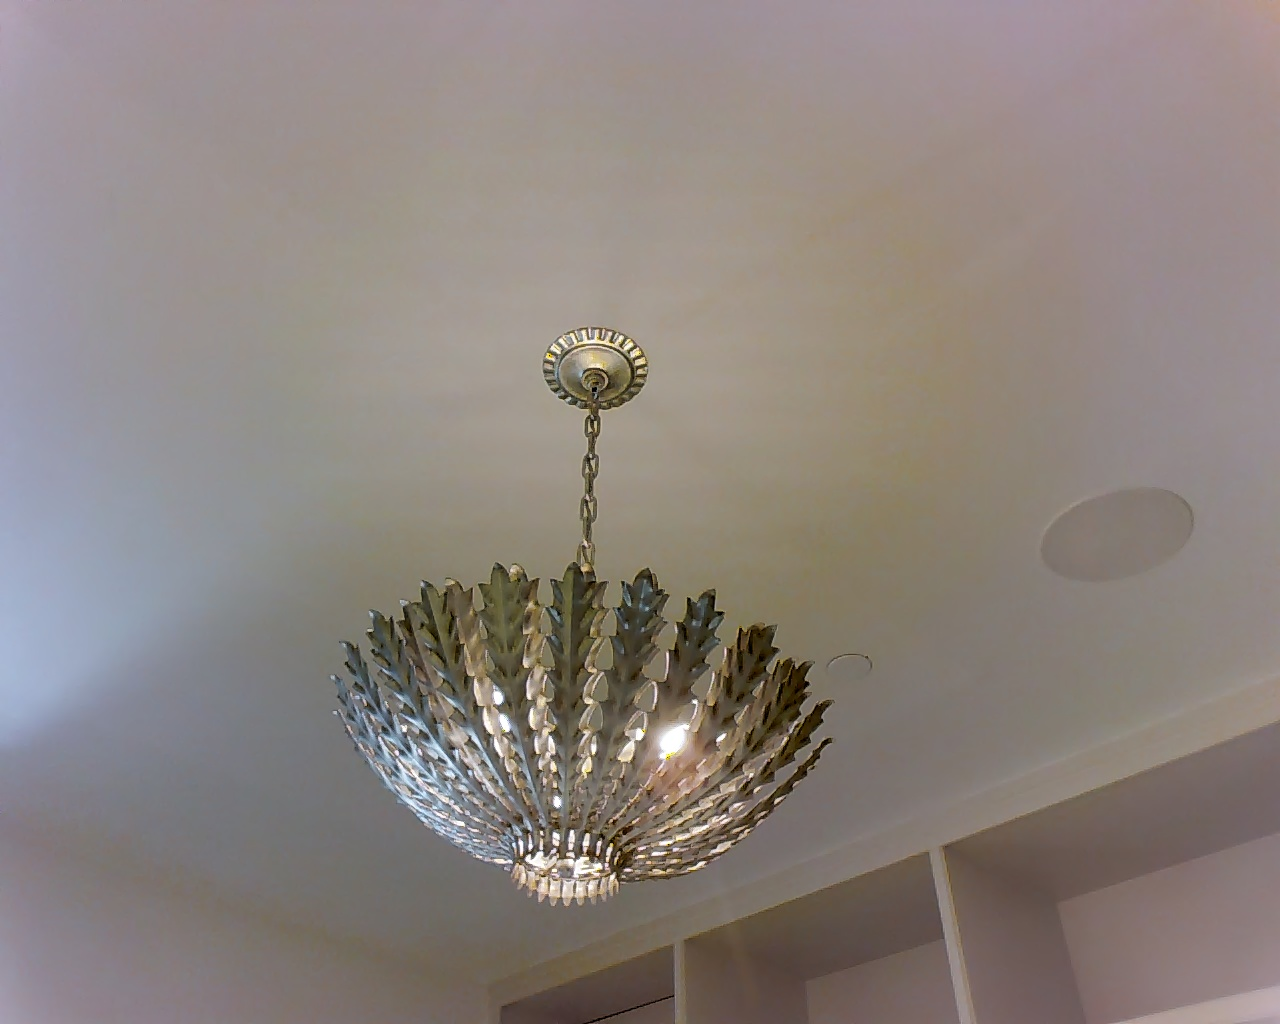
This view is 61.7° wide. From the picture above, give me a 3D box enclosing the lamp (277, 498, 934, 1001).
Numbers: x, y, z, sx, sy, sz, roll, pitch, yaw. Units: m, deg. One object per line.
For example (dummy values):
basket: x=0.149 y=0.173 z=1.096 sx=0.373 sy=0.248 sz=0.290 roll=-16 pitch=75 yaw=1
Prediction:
lamp: x=-0.060 y=0.280 z=1.100 sx=0.490 sy=0.220 sz=0.470 roll=16 pitch=-45 yaw=-17
